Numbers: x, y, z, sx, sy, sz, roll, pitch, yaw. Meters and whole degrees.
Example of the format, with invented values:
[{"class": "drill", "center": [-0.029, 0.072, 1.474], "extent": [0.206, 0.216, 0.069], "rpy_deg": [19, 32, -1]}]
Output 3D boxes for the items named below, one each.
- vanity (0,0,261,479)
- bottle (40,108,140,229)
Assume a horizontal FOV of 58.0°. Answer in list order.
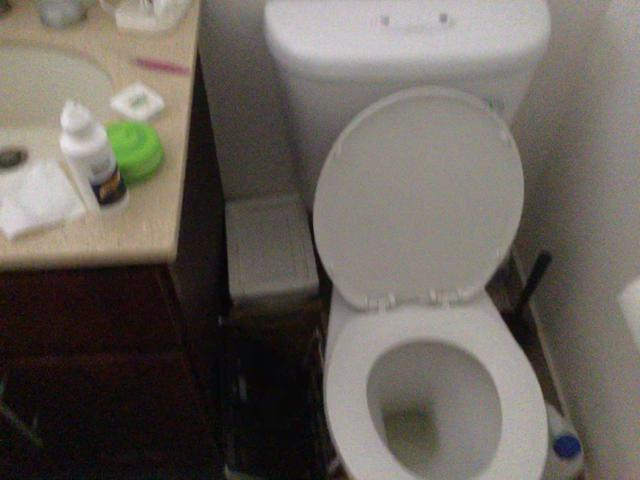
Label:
[{"class": "vanity", "center": [-0.480, 0.000, 0.970], "extent": [0.660, 0.860, 0.590], "rpy_deg": [-2, 50, -1]}, {"class": "bottle", "center": [-0.230, -0.070, 0.590], "extent": [0.050, 0.120, 0.050], "rpy_deg": [0, 50, 2]}]
